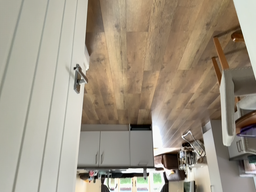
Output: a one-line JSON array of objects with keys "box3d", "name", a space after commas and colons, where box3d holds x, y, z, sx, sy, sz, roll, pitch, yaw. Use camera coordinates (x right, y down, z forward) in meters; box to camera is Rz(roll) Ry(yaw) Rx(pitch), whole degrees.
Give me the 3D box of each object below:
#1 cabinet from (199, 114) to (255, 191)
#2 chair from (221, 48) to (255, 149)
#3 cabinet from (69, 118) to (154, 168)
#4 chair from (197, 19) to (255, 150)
[{"box3d": [1.890, 1.480, 4.010, 0.590, 2.190, 0.580, -1, 157, 1], "name": "cabinet"}, {"box3d": [1.380, 0.040, 2.210, 0.450, 0.920, 0.540, -1, 157, 1], "name": "chair"}, {"box3d": [-0.320, 1.010, 4.500, 1.620, 0.910, 0.580, -1, 157, 0], "name": "cabinet"}, {"box3d": [0.970, -0.090, 1.800, 0.590, 0.990, 0.410, -8, 156, 16], "name": "chair"}]
